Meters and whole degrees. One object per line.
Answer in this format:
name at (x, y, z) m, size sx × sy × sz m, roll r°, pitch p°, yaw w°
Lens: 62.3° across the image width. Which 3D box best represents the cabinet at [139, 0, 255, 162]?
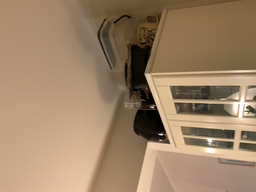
cabinet at (0.570, -0.030, 0.950) m, size 0.650 × 0.830 × 0.400 m, roll 65°, pitch -145°, yaw -47°
